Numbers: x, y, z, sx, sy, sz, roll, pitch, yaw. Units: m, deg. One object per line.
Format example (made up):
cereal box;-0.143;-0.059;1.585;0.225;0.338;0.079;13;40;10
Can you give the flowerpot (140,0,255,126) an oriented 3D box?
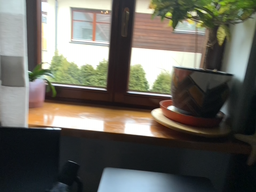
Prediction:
flowerpot;0.290;-0.320;0.990;0.360;0.760;0.450;7;14;6
